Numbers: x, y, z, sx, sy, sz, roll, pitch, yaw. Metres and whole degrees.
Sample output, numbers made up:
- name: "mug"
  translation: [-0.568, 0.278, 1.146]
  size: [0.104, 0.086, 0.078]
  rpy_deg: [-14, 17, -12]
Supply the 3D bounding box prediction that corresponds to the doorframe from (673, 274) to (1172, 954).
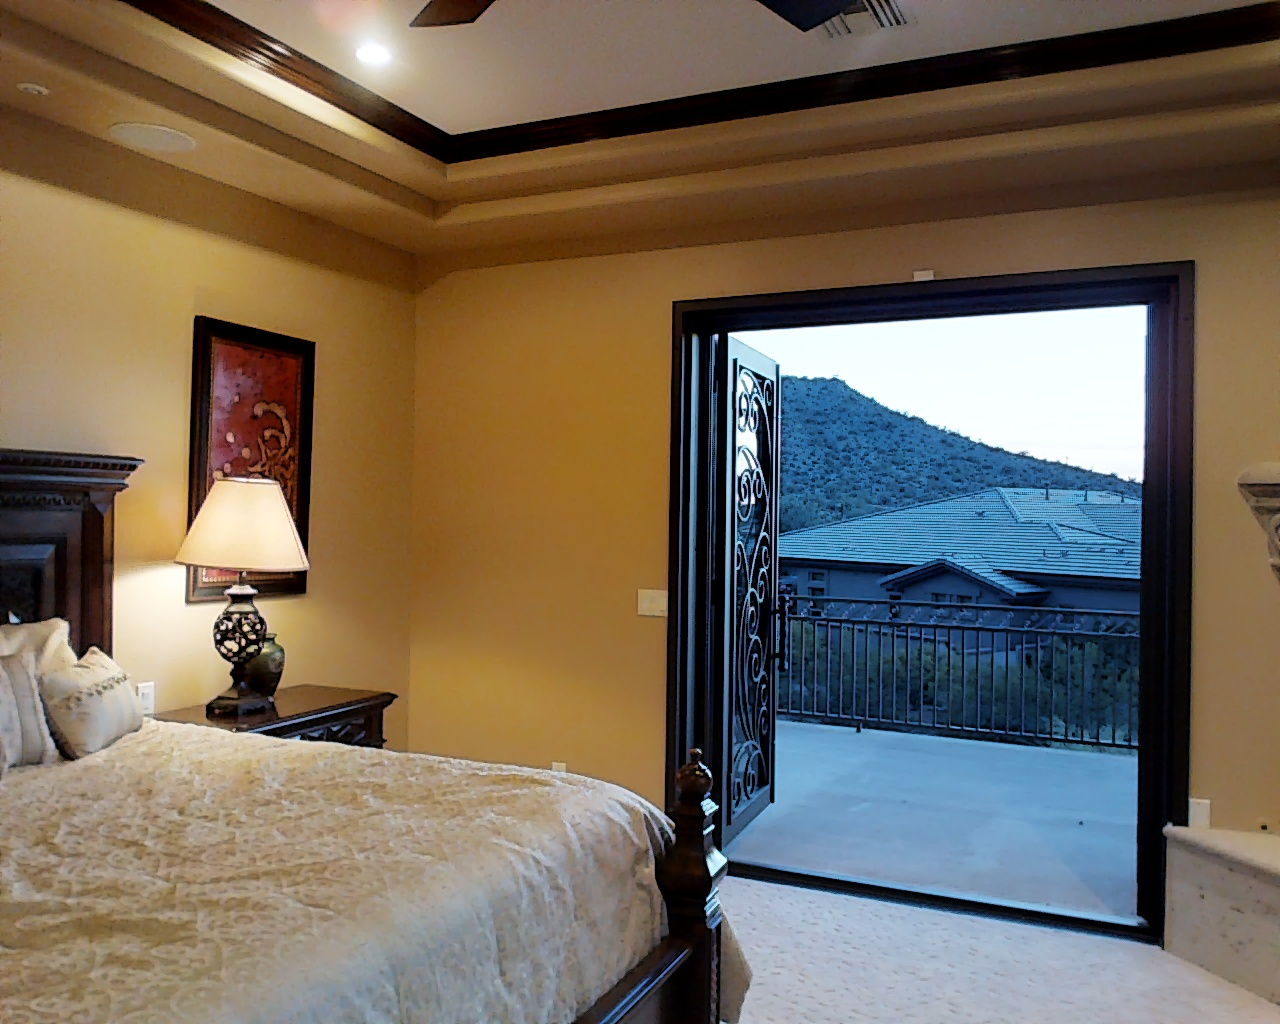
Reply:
- name: "doorframe"
  translation: [1.090, 0.350, 4.330]
  size: [1.880, 2.390, 0.400]
  rpy_deg: [1, 0, 25]
